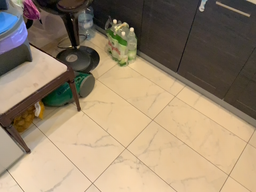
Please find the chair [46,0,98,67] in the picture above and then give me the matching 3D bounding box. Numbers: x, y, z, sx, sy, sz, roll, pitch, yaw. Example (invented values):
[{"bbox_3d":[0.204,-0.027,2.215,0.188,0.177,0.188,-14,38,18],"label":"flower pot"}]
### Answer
[{"bbox_3d":[-0.420,-0.560,1.740,0.300,0.620,0.270,-4,53,-6],"label":"chair"}]
